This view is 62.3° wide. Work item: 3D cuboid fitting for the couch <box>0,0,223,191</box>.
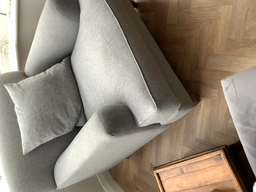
[{"bbox_3d":[-0.320,-0.050,1.320,1.150,0.790,0.930,-44,63,42],"label":"couch"}]
